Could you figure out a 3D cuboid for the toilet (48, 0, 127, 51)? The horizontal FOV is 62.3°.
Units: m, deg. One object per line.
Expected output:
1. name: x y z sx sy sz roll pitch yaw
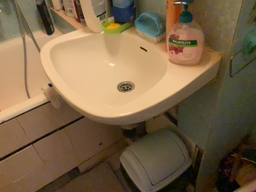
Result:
1. toilet: -0.250 -0.480 1.060 0.160 0.250 0.620 -26 45 -20
